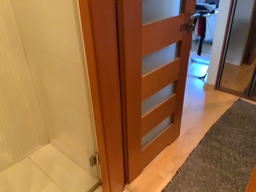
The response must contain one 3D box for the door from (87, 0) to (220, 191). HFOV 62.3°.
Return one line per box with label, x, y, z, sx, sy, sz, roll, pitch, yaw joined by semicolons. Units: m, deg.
door;0.220;-0.350;1.290;0.930;1.990;0.170;-26;39;-36
